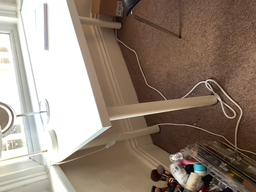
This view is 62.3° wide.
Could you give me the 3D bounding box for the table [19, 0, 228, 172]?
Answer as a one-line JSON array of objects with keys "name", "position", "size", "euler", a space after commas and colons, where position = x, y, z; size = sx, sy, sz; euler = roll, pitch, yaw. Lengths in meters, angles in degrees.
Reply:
[{"name": "table", "position": [-0.100, -0.230, 1.230], "size": [0.610, 0.740, 1.030], "euler": [-38, 64, 47]}]
